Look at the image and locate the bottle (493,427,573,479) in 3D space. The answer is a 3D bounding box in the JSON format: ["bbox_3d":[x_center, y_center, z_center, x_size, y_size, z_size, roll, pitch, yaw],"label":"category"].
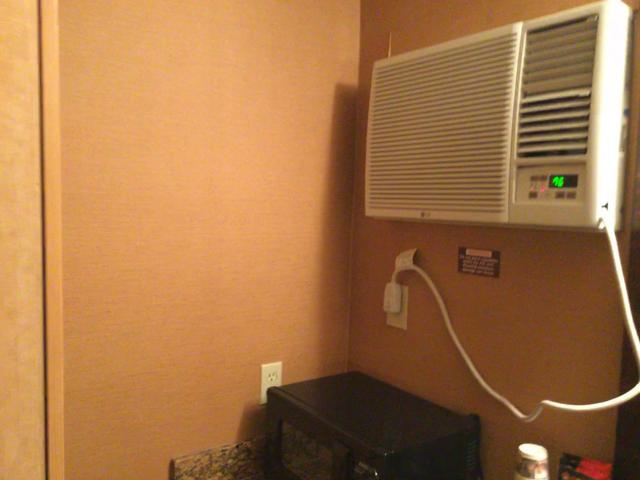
[{"bbox_3d":[0.450,0.500,1.220,0.120,0.150,0.110,-6,5,-38],"label":"bottle"}]
